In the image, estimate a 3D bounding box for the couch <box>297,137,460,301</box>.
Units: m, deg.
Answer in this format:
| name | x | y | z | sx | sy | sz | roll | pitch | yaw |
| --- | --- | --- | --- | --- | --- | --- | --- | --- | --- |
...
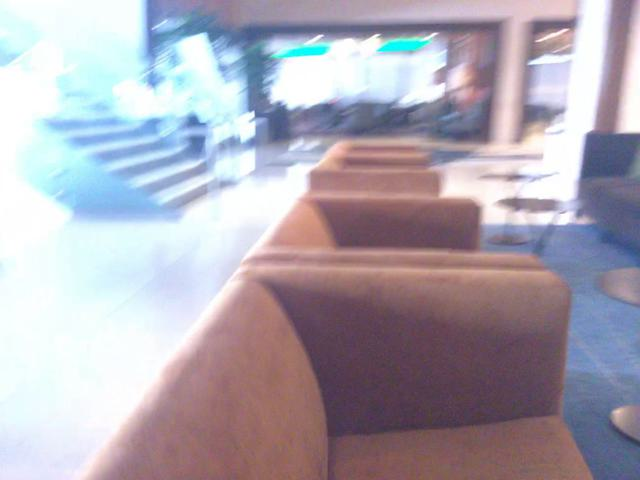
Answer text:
| name | x | y | z | sx | sy | sz | roll | pitch | yaw |
| --- | --- | --- | --- | --- | --- | --- | --- | --- | --- |
| couch | 0.360 | -0.180 | 3.640 | 0.860 | 0.790 | 0.980 | -2 | 16 | 5 |
